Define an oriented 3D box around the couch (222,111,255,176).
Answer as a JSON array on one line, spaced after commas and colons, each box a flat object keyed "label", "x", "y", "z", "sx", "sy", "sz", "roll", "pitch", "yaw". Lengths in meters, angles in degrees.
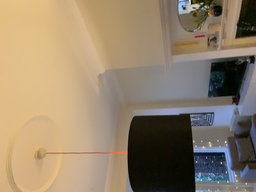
[{"label": "couch", "x": 2.390, "y": 0.920, "z": 4.080, "sx": 0.840, "sy": 0.810, "sz": 0.950, "roll": 70, "pitch": -160, "yaw": -51}]
